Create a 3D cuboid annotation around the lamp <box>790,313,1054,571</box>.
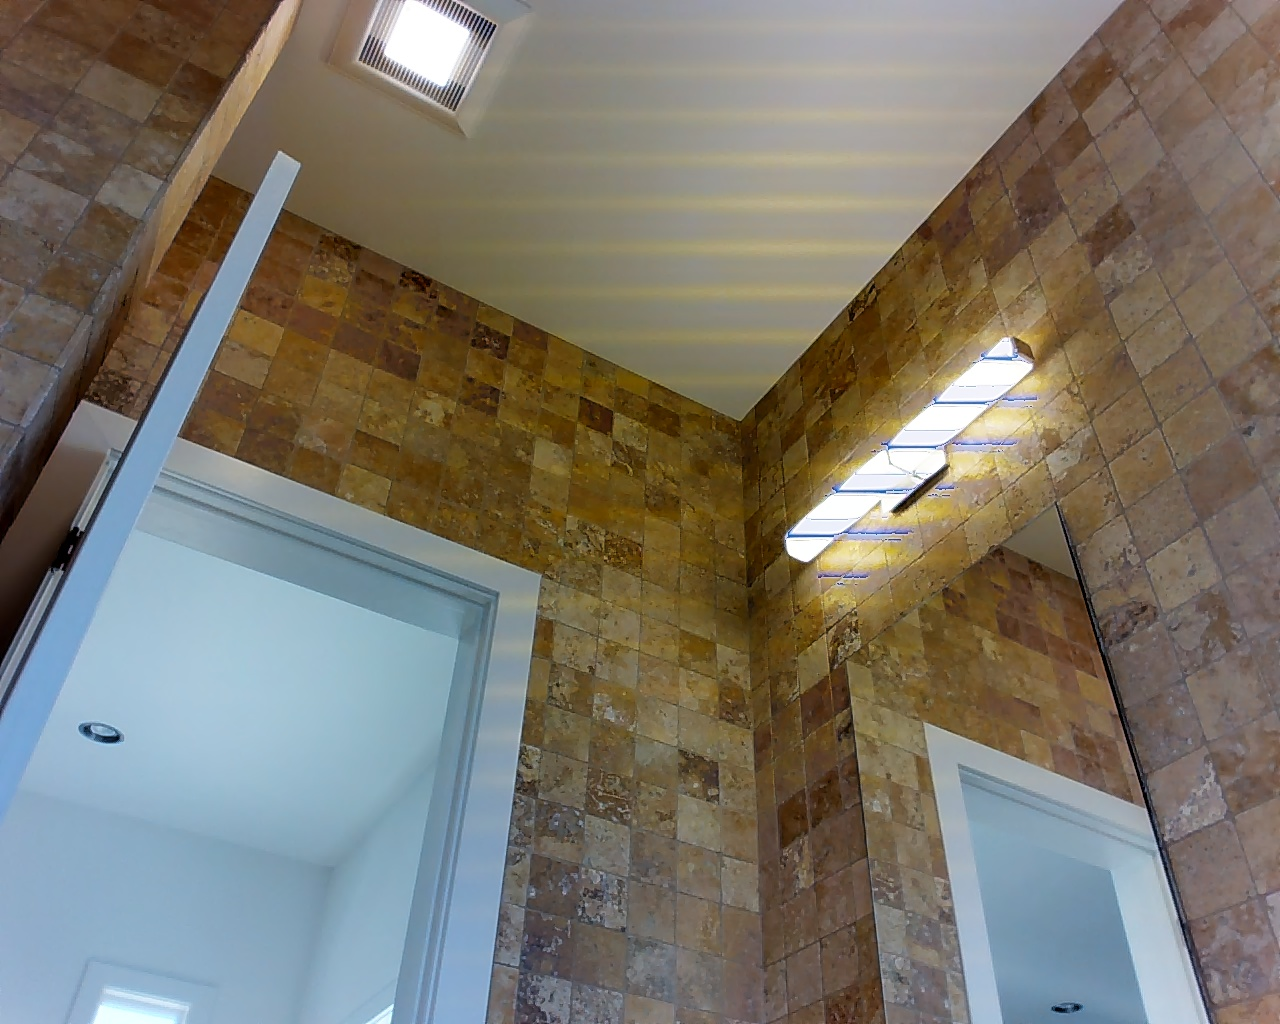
[{"bbox_3d":[0.550,-0.120,2.220,0.080,0.120,0.690,23,-45,-21],"label":"lamp"}]
